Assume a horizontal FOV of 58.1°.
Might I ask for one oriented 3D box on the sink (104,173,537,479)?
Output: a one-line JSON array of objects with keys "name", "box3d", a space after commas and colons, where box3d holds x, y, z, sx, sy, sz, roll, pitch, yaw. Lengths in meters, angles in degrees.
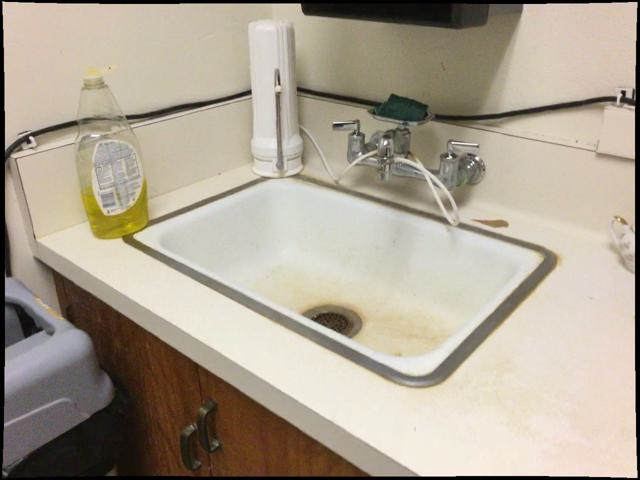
[{"name": "sink", "box3d": [0.000, 0.090, 1.040, 0.579, 0.190, 0.480, 20, 32, 36]}]
